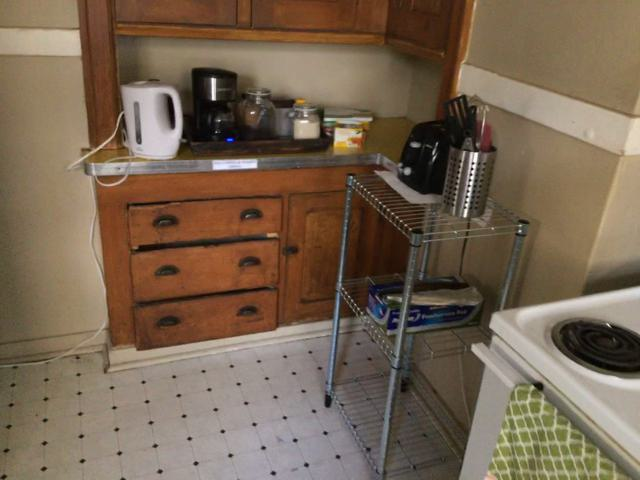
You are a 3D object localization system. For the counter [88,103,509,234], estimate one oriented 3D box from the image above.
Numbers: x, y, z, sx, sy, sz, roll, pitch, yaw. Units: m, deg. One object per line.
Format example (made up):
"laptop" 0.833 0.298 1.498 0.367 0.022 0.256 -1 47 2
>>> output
"counter" -0.110 -0.330 2.270 1.450 0.220 0.770 -4 27 -22

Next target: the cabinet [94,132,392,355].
"cabinet" -0.340 -0.030 2.440 1.090 0.740 0.460 -4 27 -21

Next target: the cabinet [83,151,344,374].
"cabinet" -0.410 0.070 2.290 0.920 0.800 0.210 -4 27 -22

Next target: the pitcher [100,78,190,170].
"pitcher" -0.600 -0.400 1.990 0.270 0.270 0.160 -4 27 -22
